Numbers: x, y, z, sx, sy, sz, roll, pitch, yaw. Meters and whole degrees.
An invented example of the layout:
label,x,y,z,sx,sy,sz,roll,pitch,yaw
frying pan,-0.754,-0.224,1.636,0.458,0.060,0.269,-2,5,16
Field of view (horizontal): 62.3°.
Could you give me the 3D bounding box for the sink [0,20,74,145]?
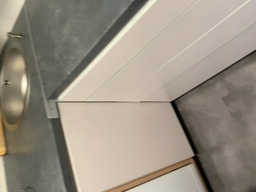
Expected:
label,x,y,z,sx,sy,sz,roll,pitch,yaw
sink,-0.540,-0.050,1.140,0.440,0.190,0.470,-37,65,36
